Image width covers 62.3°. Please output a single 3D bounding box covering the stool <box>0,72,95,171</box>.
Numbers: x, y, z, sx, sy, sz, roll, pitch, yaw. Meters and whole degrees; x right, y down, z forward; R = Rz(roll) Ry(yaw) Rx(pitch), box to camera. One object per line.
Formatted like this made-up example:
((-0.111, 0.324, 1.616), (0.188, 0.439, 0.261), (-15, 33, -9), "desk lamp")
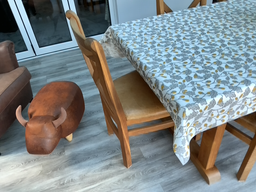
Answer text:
((-0.550, 0.160, 1.620), (0.390, 0.380, 0.650), (1, 40, 7), "stool")
